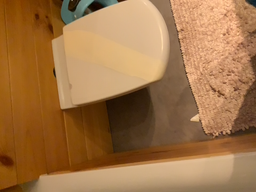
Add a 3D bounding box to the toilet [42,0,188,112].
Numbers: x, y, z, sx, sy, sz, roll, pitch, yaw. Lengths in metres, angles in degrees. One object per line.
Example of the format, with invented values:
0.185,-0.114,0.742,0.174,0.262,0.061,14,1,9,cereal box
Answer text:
-0.040,-0.150,1.020,0.500,0.440,0.350,-16,79,24,toilet
